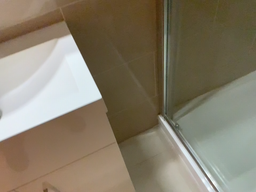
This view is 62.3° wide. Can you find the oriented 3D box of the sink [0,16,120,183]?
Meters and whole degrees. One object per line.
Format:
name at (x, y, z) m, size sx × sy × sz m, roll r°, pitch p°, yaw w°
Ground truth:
sink at (-0.380, 0.040, 0.540) m, size 0.620 × 0.140 × 0.350 m, roll -23°, pitch 52°, yaw -9°
